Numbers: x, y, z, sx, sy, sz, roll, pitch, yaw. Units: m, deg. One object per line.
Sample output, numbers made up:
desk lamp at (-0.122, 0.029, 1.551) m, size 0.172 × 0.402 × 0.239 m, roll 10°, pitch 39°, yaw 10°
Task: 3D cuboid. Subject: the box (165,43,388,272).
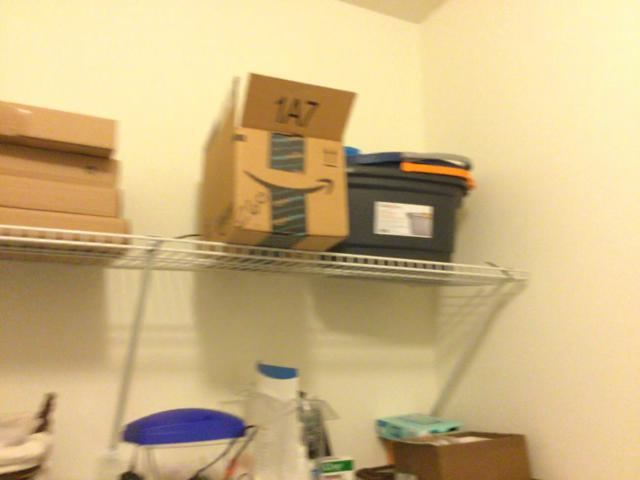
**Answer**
box at (-0.110, -0.120, 1.150) m, size 0.280 × 0.290 × 0.440 m, roll 6°, pitch -14°, yaw -27°
